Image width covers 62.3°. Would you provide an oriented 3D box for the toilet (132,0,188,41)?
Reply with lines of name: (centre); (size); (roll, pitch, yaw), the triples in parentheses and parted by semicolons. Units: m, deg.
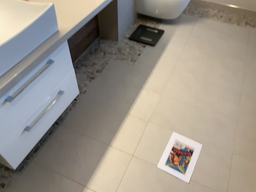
toilet: (0.370, -1.030, 2.440); (0.530, 0.530, 0.390); (19, 51, 16)
